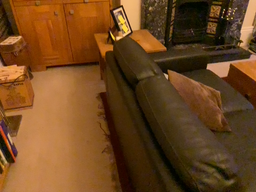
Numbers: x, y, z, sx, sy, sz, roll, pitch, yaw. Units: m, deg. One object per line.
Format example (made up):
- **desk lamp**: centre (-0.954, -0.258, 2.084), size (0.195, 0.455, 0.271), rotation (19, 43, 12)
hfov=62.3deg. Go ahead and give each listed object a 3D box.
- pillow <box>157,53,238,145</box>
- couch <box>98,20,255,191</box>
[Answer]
- **pillow**: centre (0.420, 0.010, 1.390), size (0.410, 0.210, 0.450), rotation (27, 39, -15)
- **couch**: centre (0.460, 0.140, 1.380), size (1.060, 0.760, 1.540), rotation (-8, 36, -11)
